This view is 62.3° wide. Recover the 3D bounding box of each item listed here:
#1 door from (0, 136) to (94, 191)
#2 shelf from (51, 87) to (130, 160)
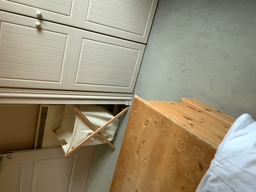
[{"bbox_3d":[-1.420,0.960,2.240,0.120,2.130,0.900,31,113,49],"label":"door"},{"bbox_3d":[-0.420,0.260,2.290,0.480,0.600,0.570,31,113,49],"label":"shelf"}]
